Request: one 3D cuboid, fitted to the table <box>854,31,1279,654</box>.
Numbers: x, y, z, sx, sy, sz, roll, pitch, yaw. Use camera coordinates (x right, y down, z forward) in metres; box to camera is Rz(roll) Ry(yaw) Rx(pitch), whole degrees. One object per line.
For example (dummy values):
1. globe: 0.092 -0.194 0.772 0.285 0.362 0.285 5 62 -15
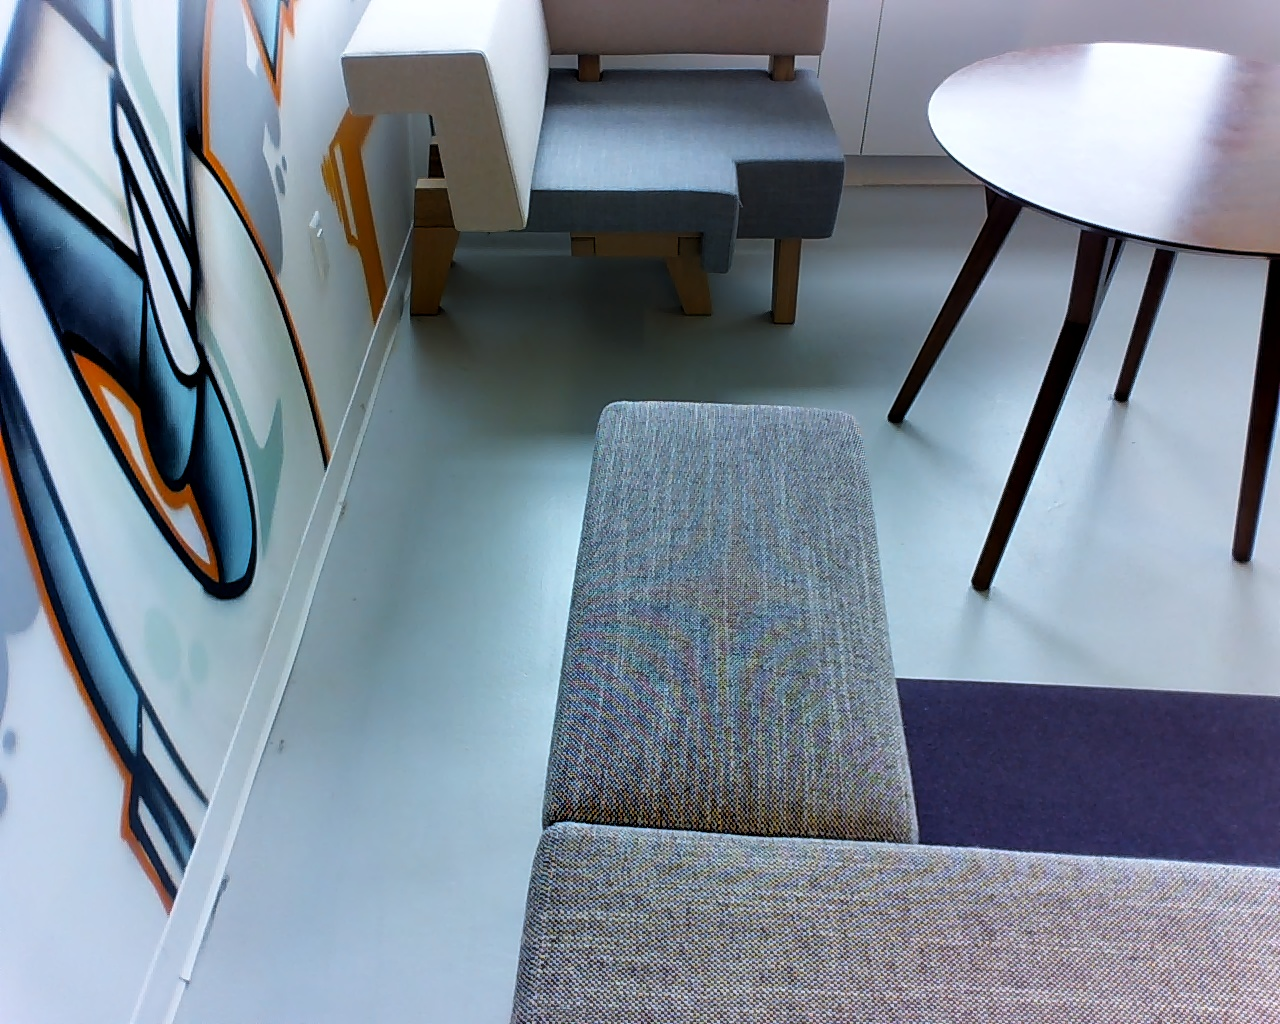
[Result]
1. table: 0.910 -0.340 2.010 0.840 0.780 0.880 3 42 3
